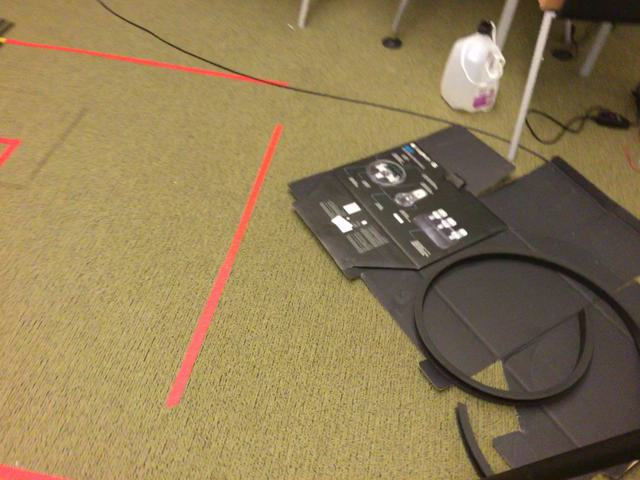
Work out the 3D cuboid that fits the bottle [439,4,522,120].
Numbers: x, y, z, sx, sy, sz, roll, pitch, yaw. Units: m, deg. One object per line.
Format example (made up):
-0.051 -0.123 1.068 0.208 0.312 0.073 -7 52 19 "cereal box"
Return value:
0.520 -0.580 1.890 0.190 0.270 0.210 12 48 6 "bottle"
